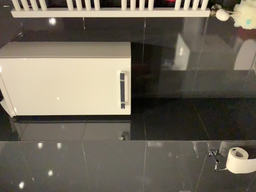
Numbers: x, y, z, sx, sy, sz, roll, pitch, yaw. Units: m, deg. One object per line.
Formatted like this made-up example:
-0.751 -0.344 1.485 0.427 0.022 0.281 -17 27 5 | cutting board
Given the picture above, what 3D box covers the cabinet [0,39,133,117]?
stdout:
-0.300 -0.090 1.100 0.210 0.640 0.340 -91 1 -52 | cabinet
